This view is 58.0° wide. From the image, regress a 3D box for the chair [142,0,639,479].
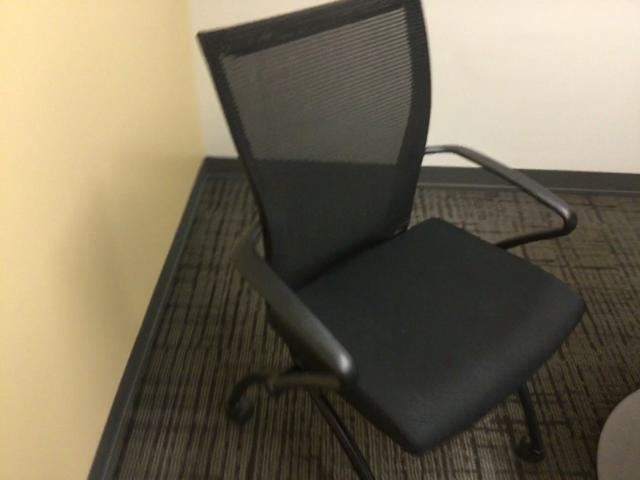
[{"bbox_3d":[0.170,0.070,1.090,0.610,0.860,0.610,-27,45,-29],"label":"chair"}]
